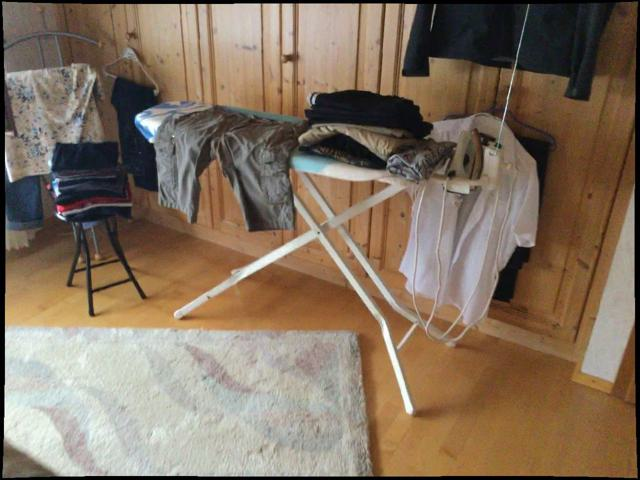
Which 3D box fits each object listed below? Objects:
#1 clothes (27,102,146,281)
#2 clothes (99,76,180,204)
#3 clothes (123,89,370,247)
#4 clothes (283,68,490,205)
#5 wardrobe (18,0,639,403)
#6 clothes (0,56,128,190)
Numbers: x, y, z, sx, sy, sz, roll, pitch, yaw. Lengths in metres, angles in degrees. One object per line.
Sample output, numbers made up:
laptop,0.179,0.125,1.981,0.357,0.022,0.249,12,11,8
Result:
clothes,-0.959,-0.210,2.430,0.320,0.610,0.370,-10,31,-16
clothes,-0.899,-0.501,2.910,0.290,0.580,0.140,16,34,27
clothes,-0.250,-0.310,2.160,0.660,0.280,0.600,16,34,27
clothes,0.210,-0.350,1.830,0.510,0.240,0.390,16,34,27
wardrobe,-0.130,-0.931,2.190,2.848,2.452,0.360,16,34,27
clothes,-1.199,-0.531,2.580,0.540,0.460,0.230,-16,33,-24
